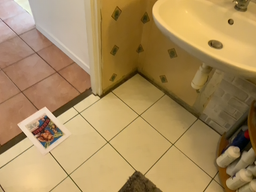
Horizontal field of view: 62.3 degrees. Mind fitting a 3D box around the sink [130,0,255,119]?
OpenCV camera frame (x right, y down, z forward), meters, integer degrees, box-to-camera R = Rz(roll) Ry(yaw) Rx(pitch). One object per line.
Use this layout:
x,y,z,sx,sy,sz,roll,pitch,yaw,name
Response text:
0.360,-0.250,0.880,0.550,0.170,0.430,40,59,22,sink
